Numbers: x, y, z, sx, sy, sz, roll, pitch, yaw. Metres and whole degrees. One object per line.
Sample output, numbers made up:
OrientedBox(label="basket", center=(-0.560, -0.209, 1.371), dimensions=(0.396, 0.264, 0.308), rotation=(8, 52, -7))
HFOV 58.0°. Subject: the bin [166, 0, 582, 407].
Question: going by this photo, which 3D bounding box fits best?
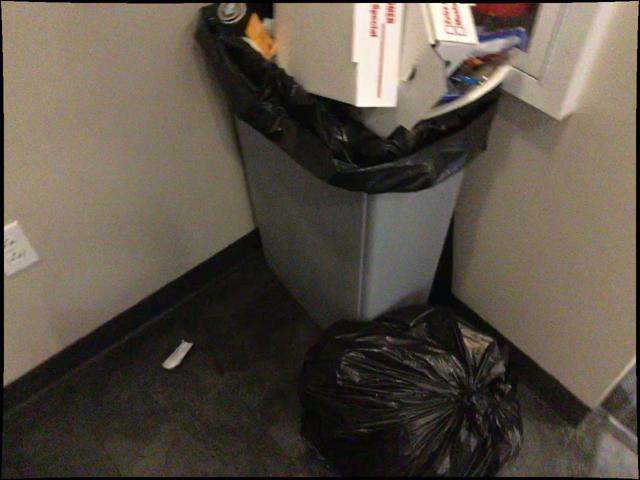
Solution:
OrientedBox(label="bin", center=(0.040, -0.140, 1.190), dimensions=(0.390, 0.871, 0.540), rotation=(-28, 58, -19))
